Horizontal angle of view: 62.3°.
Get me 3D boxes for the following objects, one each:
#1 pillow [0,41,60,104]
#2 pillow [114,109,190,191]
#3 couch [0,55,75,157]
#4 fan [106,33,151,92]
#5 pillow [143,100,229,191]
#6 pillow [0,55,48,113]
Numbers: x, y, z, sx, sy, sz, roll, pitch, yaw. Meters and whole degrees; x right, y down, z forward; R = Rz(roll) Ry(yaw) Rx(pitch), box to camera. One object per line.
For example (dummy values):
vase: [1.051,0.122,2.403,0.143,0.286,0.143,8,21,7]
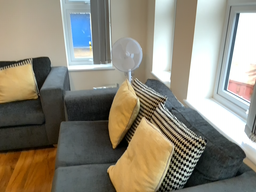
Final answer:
pillow: [-1.280,-0.290,2.640,0.680,0.450,0.190,-35,23,1]
pillow: [0.150,0.370,1.130,0.120,0.470,0.520,-37,22,1]
couch: [-1.520,0.060,2.360,1.720,0.780,1.020,-4,22,-10]
fan: [0.020,-0.460,2.800,0.450,0.670,0.420,8,23,19]
pillow: [0.300,0.300,1.180,0.120,0.400,0.530,-33,23,-1]
pillow: [-1.220,-0.140,2.320,0.480,0.440,0.200,-28,24,-12]
